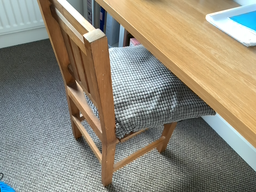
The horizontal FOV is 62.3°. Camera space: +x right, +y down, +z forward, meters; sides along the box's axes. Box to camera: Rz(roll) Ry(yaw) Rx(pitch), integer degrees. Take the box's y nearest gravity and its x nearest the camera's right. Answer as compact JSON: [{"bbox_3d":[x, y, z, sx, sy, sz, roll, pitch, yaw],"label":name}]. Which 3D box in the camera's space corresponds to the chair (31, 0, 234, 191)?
[{"bbox_3d":[-0.040,-0.030,0.950,0.480,0.850,0.420,-25,55,-29],"label":"chair"}]

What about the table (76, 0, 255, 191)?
[{"bbox_3d":[0.280,-0.030,1.090,0.620,0.730,1.200,-21,53,-26],"label":"table"}]
